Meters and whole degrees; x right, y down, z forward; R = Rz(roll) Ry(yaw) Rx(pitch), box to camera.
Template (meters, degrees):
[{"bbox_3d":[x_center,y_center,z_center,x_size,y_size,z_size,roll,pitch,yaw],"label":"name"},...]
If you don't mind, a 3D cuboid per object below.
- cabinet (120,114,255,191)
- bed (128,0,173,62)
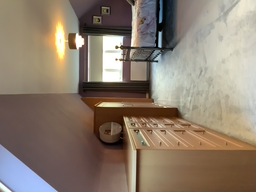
[{"bbox_3d":[0.430,0.590,2.600,2.230,0.980,0.510,-164,76,-86],"label":"cabinet"},{"bbox_3d":[0.440,-2.050,4.860,1.690,0.740,2.250,-171,82,-86],"label":"bed"}]
